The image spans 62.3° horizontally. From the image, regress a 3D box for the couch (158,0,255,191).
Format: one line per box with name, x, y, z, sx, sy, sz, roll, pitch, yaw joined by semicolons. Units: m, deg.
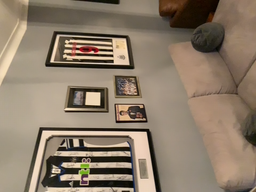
couch;0.940;-0.200;1.790;0.950;0.830;2.060;101;167;-48
